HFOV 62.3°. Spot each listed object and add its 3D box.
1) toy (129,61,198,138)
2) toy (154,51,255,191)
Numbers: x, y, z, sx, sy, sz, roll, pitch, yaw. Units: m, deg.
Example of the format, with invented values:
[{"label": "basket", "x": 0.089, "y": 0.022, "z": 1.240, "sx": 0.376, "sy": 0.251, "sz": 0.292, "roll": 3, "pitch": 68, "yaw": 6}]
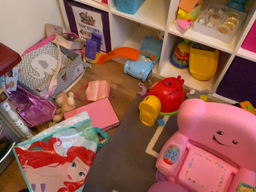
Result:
[{"label": "toy", "x": 0.200, "y": 0.010, "z": 1.220, "sx": 0.240, "sy": 0.180, "sz": 0.340, "roll": 28, "pitch": 59, "yaw": 17}, {"label": "toy", "x": 0.430, "y": 0.170, "z": 0.960, "sx": 0.420, "sy": 0.450, "sz": 0.440, "roll": 27, "pitch": 58, "yaw": 17}]
